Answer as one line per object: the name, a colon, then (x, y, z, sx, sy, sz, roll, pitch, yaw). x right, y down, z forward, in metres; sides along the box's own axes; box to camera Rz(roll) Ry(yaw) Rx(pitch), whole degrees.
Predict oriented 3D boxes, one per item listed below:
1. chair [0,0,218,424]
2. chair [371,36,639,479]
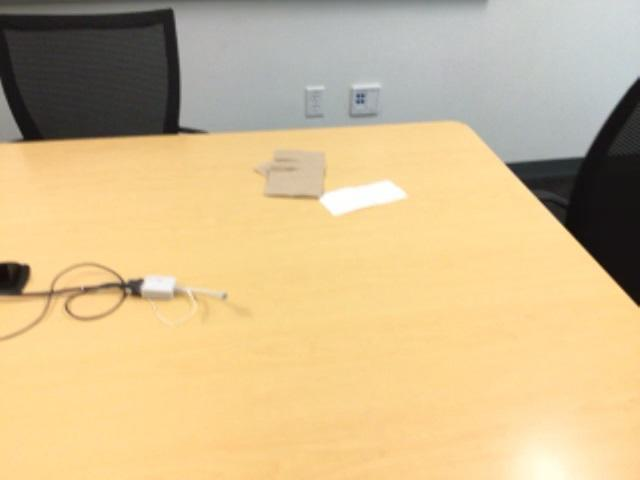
chair: (-0.560, -0.090, 1.510, 0.460, 0.880, 0.610, -7, 35, -11)
chair: (0.510, 0.120, 1.260, 0.570, 0.910, 0.640, -7, 35, -11)
